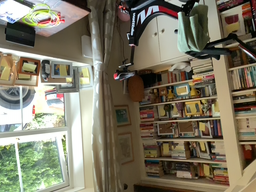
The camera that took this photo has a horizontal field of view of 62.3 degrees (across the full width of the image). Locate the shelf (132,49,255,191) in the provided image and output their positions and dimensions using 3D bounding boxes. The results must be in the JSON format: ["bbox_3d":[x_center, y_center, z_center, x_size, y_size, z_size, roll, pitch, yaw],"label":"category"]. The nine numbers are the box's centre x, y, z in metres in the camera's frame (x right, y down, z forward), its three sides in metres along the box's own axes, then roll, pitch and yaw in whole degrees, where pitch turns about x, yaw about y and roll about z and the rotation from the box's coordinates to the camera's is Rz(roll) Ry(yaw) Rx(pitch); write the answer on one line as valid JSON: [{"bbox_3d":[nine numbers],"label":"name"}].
[{"bbox_3d":[0.740,0.340,2.750,1.440,1.510,0.190,-10,172,40],"label":"shelf"}]
